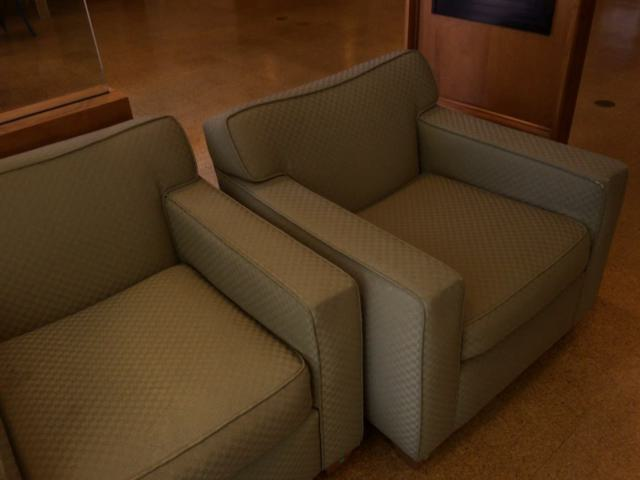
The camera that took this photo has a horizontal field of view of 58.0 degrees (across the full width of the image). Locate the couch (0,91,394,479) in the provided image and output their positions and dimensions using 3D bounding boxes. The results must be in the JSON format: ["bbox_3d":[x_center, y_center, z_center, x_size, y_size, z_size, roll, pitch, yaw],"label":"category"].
[{"bbox_3d":[-0.470,0.250,1.330,0.910,0.780,0.860,-30,40,-31],"label":"couch"}]

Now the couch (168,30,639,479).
[{"bbox_3d":[0.250,-0.050,1.670,0.860,0.780,0.890,-30,40,-31],"label":"couch"}]

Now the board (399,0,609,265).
[{"bbox_3d":[0.560,-0.850,1.850,0.160,1.840,0.680,-27,36,-33],"label":"board"}]
